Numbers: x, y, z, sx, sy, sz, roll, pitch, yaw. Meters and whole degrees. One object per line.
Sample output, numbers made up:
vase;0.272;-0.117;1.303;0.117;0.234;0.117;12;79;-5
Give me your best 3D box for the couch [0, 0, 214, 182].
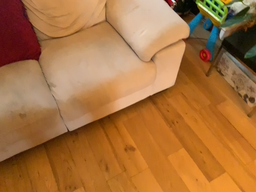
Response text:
couch;-0.500;-0.330;1.350;1.460;0.790;1.060;-24;59;-17
